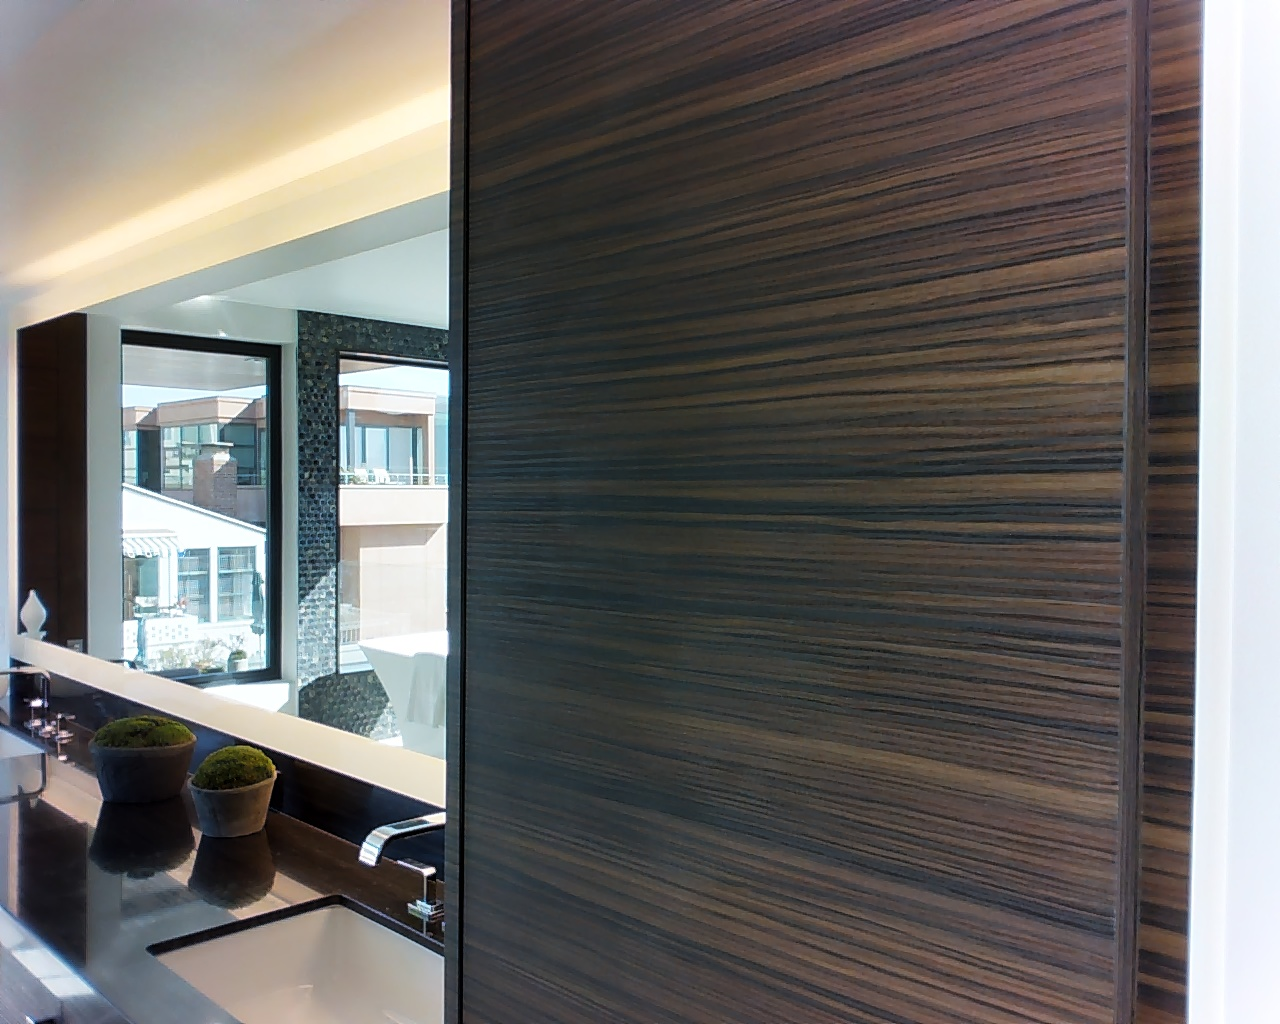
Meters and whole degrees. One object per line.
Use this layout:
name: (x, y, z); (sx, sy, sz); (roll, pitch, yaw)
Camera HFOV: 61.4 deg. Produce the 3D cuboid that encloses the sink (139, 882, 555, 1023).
sink: (-0.420, 0.710, 1.500); (0.520, 0.170, 0.340); (2, 1, 44)
